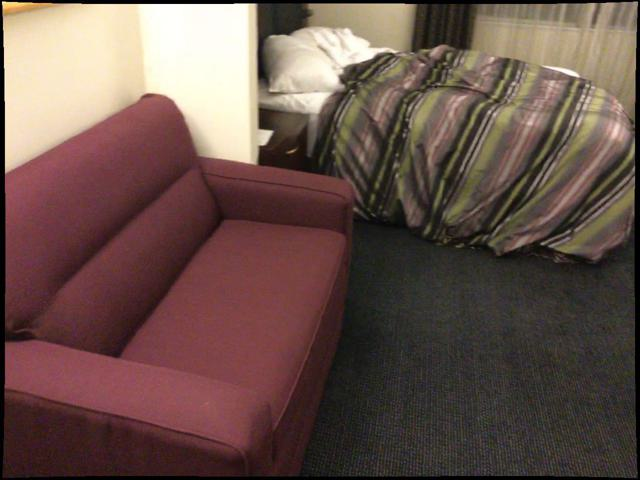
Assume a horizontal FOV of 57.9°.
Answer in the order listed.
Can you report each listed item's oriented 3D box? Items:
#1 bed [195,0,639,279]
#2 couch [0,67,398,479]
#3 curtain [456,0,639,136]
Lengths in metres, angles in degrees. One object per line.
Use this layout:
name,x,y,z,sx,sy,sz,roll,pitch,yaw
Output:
bed,0.779,-1.111,3.360,2.398,1.601,1.850,9,31,8
couch,-0.380,0.130,1.800,1.009,0.891,1.420,9,31,8
curtain,1.828,-1.592,4.560,1.249,1.361,0.240,9,31,8
